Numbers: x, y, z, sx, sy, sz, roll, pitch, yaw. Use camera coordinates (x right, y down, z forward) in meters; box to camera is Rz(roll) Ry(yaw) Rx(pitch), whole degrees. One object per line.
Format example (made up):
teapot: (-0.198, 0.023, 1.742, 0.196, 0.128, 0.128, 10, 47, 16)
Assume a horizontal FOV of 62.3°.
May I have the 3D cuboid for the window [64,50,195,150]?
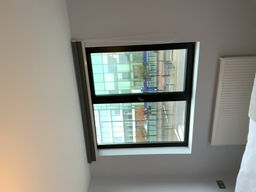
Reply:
window: (0.040, 0.120, 3.020, 0.120, 1.660, 1.460, -88, -4, -66)
